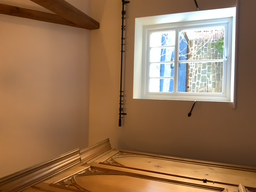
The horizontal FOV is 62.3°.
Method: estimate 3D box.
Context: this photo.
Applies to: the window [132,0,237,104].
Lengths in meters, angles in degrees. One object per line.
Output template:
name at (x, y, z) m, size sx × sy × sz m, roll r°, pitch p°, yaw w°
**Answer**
window at (0.630, -0.460, 2.500) m, size 0.320 × 1.100 × 1.050 m, roll -3°, pitch -85°, yaw -69°
